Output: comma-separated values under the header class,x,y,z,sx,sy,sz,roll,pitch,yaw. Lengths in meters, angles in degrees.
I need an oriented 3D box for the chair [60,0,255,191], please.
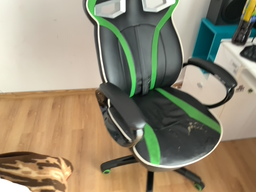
class,x,y,z,sx,sy,sz,roll,pitch,yaw
chair,0.180,-0.030,1.160,0.730,1.220,0.830,-19,47,-23
